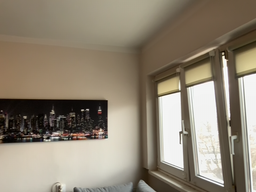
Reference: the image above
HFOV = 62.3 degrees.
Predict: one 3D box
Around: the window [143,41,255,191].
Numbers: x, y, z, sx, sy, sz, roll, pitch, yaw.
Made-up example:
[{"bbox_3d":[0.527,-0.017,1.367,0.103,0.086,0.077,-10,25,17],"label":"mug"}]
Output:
[{"bbox_3d":[0.650,0.310,1.600,0.140,1.170,2.260,2,-6,-20],"label":"window"}]
